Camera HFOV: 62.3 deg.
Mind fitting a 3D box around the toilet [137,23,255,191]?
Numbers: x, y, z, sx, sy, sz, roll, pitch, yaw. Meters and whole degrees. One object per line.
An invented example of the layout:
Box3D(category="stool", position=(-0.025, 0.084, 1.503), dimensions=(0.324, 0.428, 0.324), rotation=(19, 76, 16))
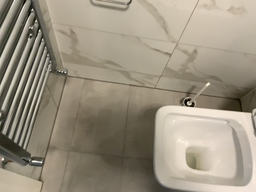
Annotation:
Box3D(category="toilet", position=(0.430, 0.210, 0.850), dimensions=(0.640, 0.840, 0.390), rotation=(7, 64, -5))
